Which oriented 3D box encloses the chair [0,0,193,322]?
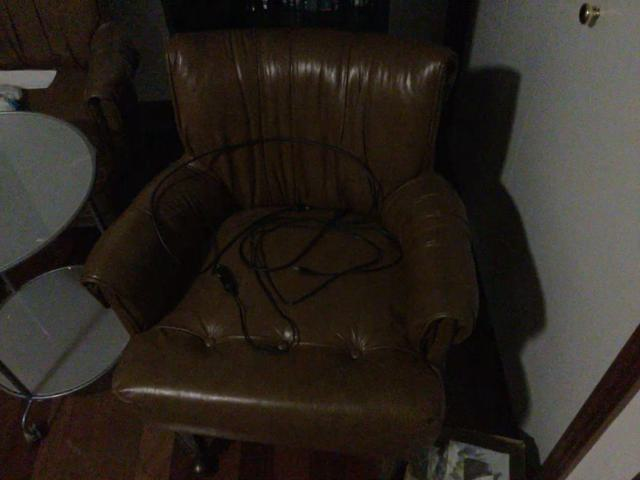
[{"bbox_3d":[-0.780,-0.310,1.530,0.680,0.810,0.700,-2,48,-2],"label":"chair"}]

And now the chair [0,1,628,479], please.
[{"bbox_3d":[-0.050,0.100,1.160,0.780,0.820,0.730,3,48,2],"label":"chair"}]
